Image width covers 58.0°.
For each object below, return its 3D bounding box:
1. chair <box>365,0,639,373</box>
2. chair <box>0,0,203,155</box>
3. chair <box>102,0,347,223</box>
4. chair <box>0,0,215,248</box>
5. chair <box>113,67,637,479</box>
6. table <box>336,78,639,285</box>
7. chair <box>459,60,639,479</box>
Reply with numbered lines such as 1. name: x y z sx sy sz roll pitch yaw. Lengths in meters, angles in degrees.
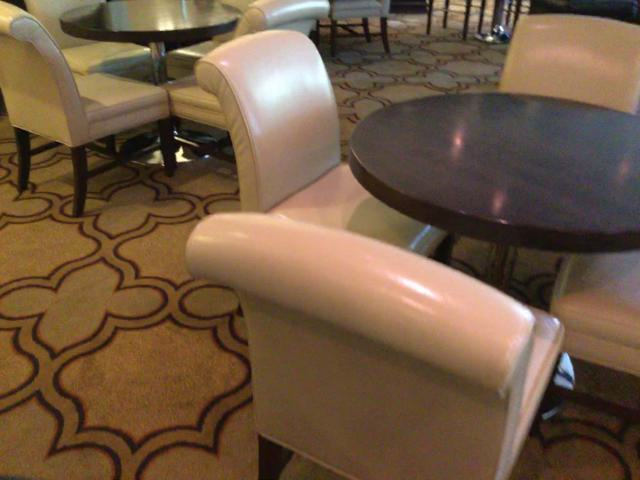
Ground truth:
1. chair: 0.730 -0.260 2.070 0.890 0.920 0.850 12 35 17
2. chair: -1.360 -1.190 3.430 0.860 0.910 0.910 -27 42 -35
3. chair: -0.420 -0.750 2.830 0.860 0.930 0.680 19 38 26
4. chair: -1.120 -0.670 2.660 0.840 0.940 0.810 19 38 27
5. chair: 0.170 0.260 1.210 0.550 0.950 0.820 18 37 26
6. table: 0.530 -0.220 1.500 0.890 0.100 0.900 -3 33 -4
7. chair: 0.910 0.130 1.450 0.890 0.900 0.600 12 35 18
